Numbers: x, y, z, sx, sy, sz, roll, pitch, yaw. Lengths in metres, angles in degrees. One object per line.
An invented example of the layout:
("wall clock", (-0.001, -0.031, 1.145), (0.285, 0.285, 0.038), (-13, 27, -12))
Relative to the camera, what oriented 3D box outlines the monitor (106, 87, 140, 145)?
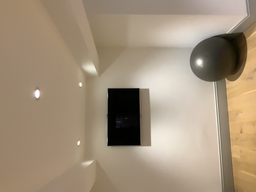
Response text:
("monitor", (-0.080, 0.300, 3.310), (0.040, 0.510, 0.900), (101, 169, -78))
